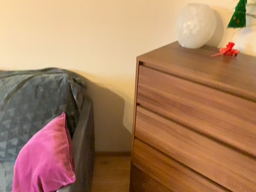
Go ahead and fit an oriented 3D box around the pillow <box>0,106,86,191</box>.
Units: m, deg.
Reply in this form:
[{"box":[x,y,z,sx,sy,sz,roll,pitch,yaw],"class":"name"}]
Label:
[{"box":[-0.420,0.320,0.960,0.190,0.390,0.380,43,21,-24],"class":"pillow"}]
